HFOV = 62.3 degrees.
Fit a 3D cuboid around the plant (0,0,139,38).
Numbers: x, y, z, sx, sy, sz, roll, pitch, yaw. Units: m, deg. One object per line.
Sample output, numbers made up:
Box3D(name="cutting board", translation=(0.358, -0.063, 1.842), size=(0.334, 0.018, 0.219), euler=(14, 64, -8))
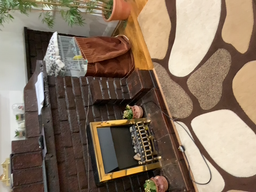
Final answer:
Box3D(name="plant", translation=(-0.720, -1.050, 2.160), size=(0.530, 1.650, 0.650), euler=(16, 105, 57))
